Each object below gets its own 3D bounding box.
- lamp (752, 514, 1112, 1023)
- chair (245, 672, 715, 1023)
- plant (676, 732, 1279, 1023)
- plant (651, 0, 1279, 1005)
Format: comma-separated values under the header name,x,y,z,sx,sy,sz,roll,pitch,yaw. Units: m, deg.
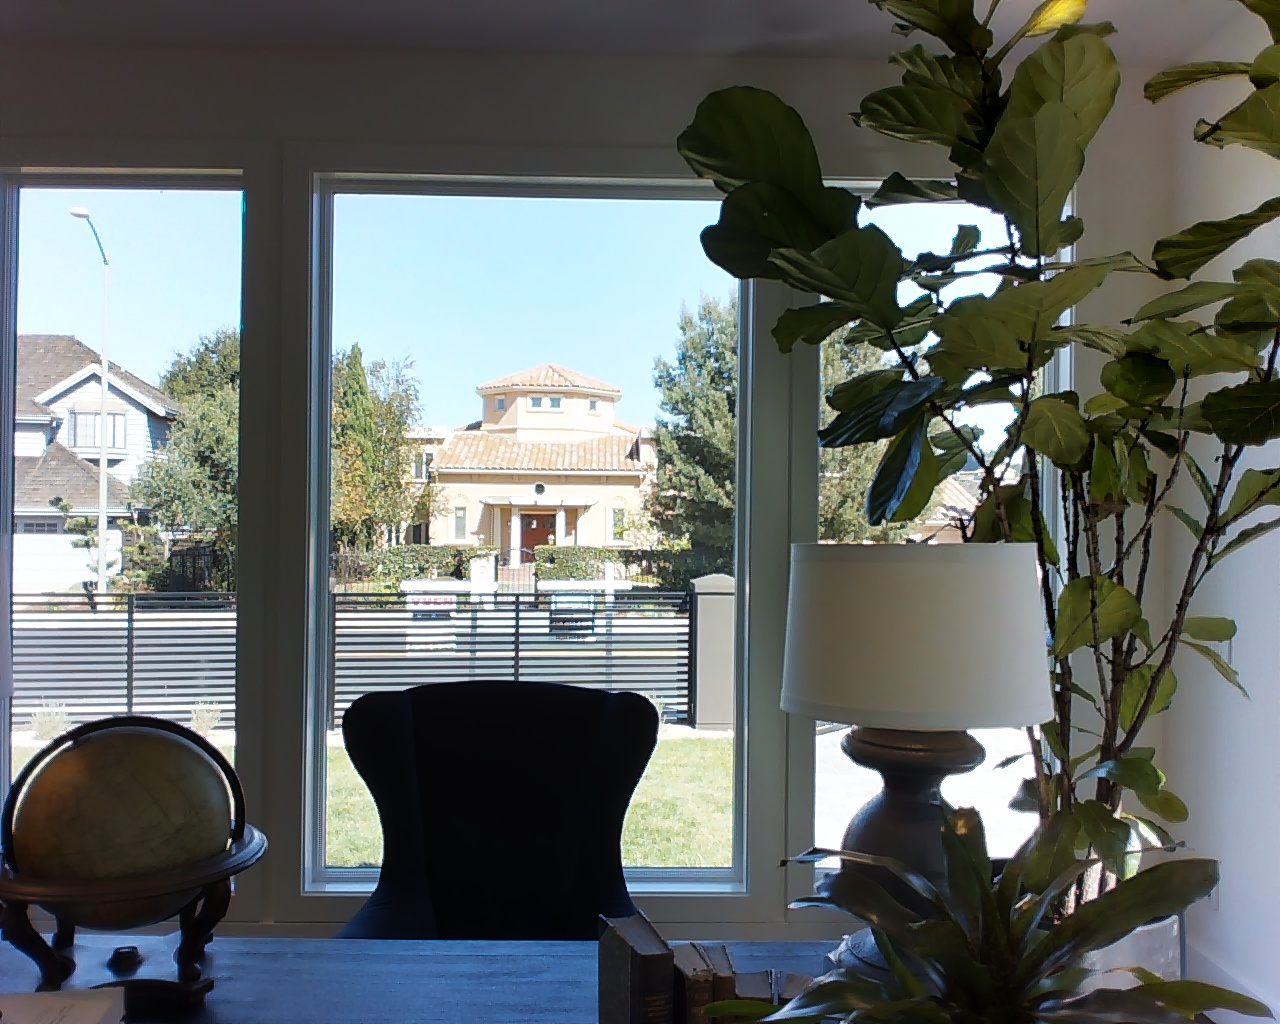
name,x,y,z,sx,sy,sz,roll,pitch,yaw
lamp,0.400,0.370,1.590,0.400,0.730,0.410,1,0,-3
chair,-0.300,0.990,2.530,0.890,1.070,0.980,1,0,1
plant,0.360,0.520,1.220,0.600,0.430,0.520,1,0,-2
plant,0.950,-0.330,2.660,1.800,2.350,1.630,1,0,0
